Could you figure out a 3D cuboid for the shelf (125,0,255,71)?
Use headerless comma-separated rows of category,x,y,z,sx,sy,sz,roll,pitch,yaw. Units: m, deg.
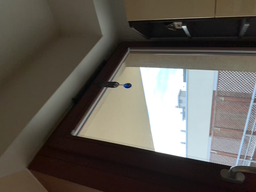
shelf,0.450,-0.320,1.090,0.310,0.850,0.230,-63,-30,-43
